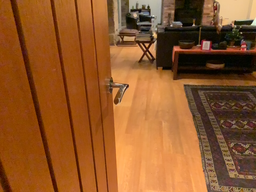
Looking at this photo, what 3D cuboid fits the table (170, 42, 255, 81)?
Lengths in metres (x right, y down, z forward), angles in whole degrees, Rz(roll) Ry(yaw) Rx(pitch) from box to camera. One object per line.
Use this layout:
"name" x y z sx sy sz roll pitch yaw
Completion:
"table" 1.410 -0.580 3.420 1.390 0.480 0.480 3 26 9

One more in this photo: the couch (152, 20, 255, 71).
"couch" 1.450 -0.990 4.000 1.940 0.740 0.950 2 25 8
